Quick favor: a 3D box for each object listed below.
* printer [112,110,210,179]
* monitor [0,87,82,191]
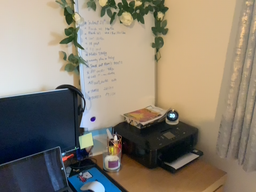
[{"bbox_3d":[0.200,0.260,1.320,0.450,0.170,0.390,-11,19,-36],"label":"printer"},{"bbox_3d":[-0.460,0.200,0.980,0.520,0.420,0.030,-13,20,-40],"label":"monitor"}]
